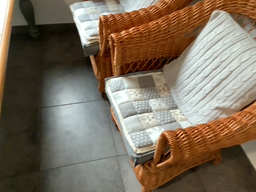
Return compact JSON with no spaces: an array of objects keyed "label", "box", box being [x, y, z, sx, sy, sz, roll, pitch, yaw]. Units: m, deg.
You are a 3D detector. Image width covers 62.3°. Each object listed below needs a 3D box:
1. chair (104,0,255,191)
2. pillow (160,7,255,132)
[{"label":"chair","box":[0.310,0.010,1.080,0.690,0.900,0.710,-12,53,-16]},{"label":"pillow","box":[0.400,-0.110,0.970,0.170,0.350,0.420,12,45,-41]}]
